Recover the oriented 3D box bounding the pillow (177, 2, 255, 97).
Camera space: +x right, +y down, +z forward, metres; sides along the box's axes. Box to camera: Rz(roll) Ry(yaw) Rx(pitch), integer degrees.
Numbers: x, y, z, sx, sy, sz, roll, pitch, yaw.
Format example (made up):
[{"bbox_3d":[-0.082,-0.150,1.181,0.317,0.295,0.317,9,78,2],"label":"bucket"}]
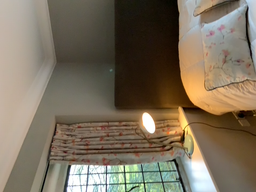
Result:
[{"bbox_3d":[0.700,-0.330,1.530,0.520,0.400,0.180,47,169,7],"label":"pillow"}]
